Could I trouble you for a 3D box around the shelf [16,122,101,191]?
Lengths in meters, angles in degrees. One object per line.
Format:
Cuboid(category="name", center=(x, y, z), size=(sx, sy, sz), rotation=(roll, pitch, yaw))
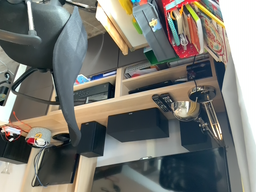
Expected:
Cuboid(category="shelf", center=(-0.590, 0.880, 1.620), size=(0.630, 1.280, 0.210), rotation=(-12, 147, 25))
